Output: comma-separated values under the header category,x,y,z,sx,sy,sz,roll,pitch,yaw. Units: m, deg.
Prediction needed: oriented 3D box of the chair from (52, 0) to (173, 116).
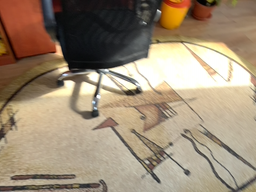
category,x,y,z,sx,sy,sz,roll,pitch,yaw
chair,-0.160,-0.480,1.230,0.480,1.040,0.680,-8,55,-14
